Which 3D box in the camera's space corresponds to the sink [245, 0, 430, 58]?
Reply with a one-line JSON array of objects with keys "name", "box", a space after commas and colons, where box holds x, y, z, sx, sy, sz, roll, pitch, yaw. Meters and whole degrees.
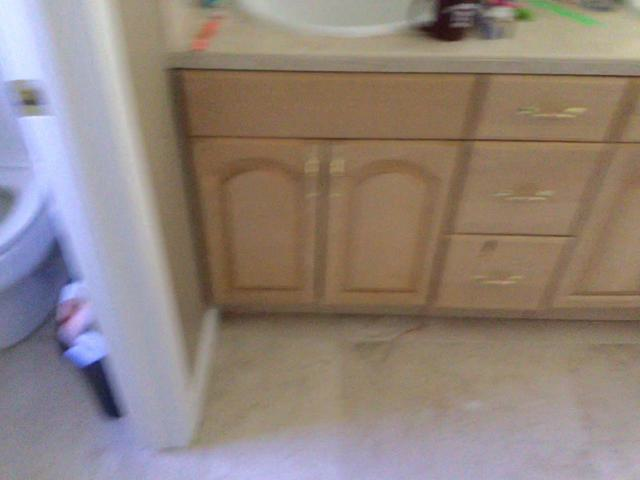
[{"name": "sink", "box": [0.040, -0.530, 1.400, 0.420, 0.130, 0.120, 0, 41, 1]}]
